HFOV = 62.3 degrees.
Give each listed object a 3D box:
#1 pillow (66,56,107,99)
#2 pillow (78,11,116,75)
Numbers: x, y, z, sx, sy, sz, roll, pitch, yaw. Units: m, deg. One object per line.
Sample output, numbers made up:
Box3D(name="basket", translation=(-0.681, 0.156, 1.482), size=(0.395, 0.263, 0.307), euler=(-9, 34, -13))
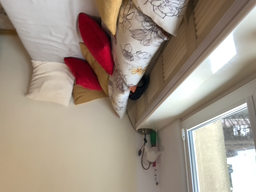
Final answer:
Box3D(name="pillow", translation=(-0.380, -0.160, 1.990), size=(0.330, 0.250, 0.380), euler=(3, 161, -9))
Box3D(name="pillow", translation=(-0.220, -0.350, 1.470), size=(0.220, 0.280, 0.320), euler=(4, 161, -13))
